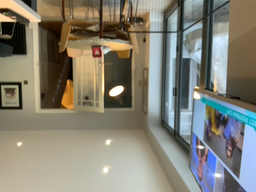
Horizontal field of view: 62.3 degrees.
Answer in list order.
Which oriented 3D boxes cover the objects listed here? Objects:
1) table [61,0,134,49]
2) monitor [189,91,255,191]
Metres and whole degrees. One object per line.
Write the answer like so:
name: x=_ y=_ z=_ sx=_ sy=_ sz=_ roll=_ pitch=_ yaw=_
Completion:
table: x=-0.420 y=-1.170 z=3.360 sx=0.970 sy=0.710 sz=1.000 roll=0 pitch=-174 yaw=-1
monitor: x=0.420 y=0.280 z=0.960 sx=0.040 sy=0.540 sz=0.880 roll=0 pitch=-174 yaw=1
